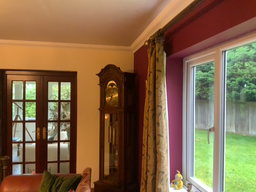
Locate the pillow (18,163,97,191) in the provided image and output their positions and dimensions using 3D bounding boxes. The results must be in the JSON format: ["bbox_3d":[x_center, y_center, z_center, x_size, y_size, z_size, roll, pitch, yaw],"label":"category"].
[{"bbox_3d":[-0.750,1.070,2.330,0.650,0.440,0.510,2,1,17],"label":"pillow"}]
